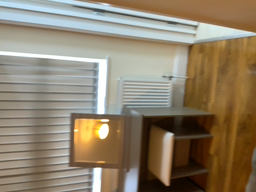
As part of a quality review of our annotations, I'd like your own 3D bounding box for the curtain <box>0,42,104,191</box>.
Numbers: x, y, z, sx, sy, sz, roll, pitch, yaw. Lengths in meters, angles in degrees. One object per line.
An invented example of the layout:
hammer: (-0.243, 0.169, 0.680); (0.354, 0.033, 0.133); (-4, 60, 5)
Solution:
curtain: (-0.860, 0.480, 1.920); (0.040, 1.230, 1.840); (-167, 79, -66)
